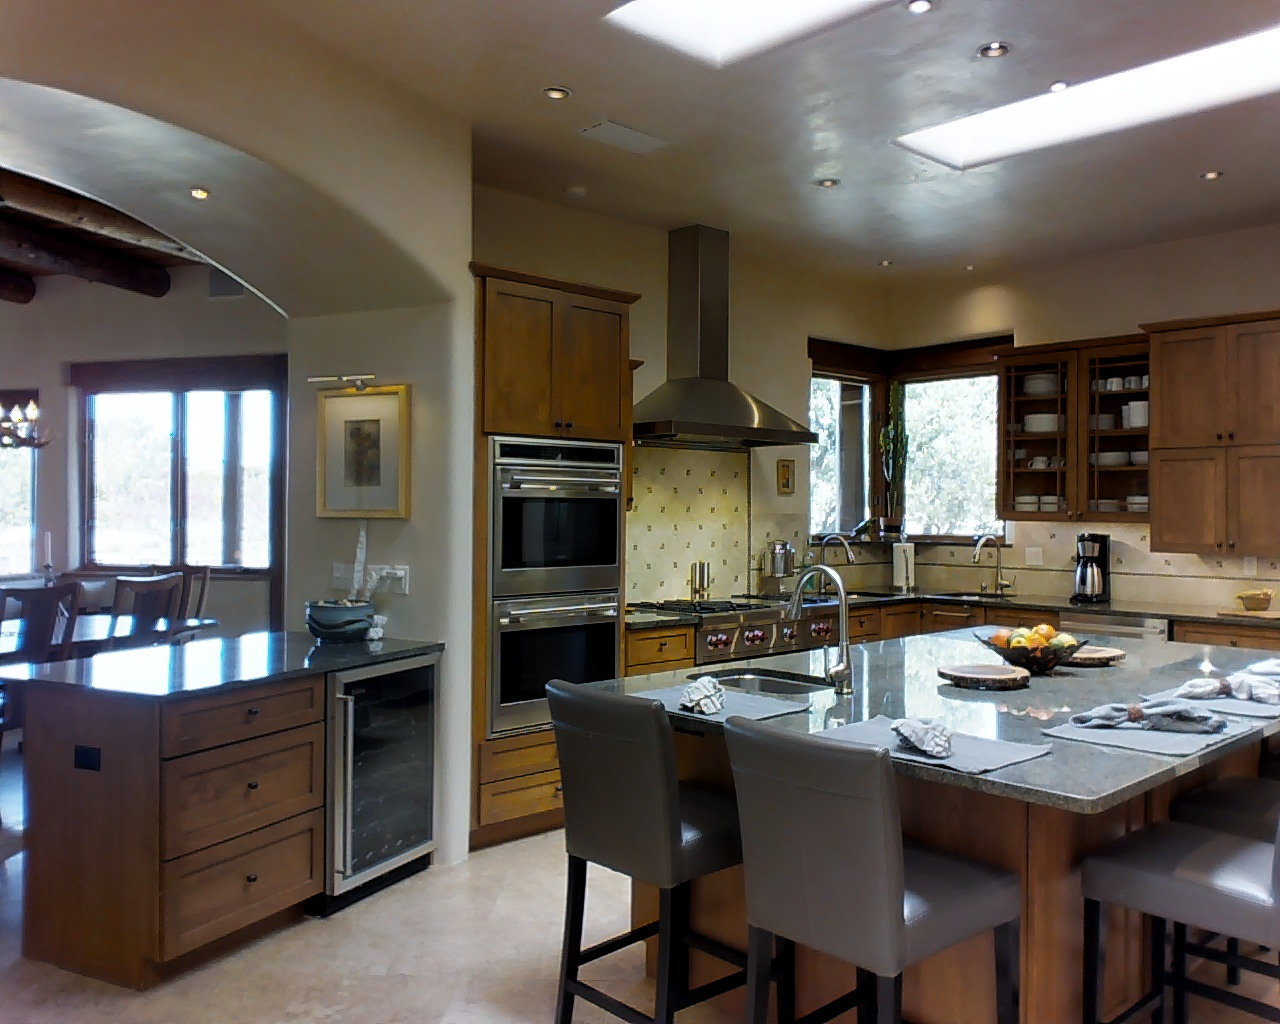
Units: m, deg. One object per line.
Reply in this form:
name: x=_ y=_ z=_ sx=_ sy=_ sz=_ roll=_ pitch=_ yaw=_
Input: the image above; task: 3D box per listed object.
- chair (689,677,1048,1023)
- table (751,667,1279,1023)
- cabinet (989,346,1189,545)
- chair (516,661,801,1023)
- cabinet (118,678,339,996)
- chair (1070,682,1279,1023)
chair: x=0.520 y=0.930 z=2.410 sx=0.650 sy=1.000 sz=0.510 roll=1 pitch=-1 yaw=-44
table: x=1.690 y=0.980 z=3.070 sx=2.440 sy=0.780 sz=1.250 roll=1 pitch=-1 yaw=-28
cabinet: x=2.699 y=-0.370 z=6.490 sx=0.400 sy=1.110 sz=1.040 roll=1 pitch=-1 yaw=-44
chair: x=0.050 y=0.940 z=2.850 sx=0.550 sy=0.990 sz=0.510 roll=1 pitch=-1 yaw=-44
cabinet: x=-1.310 y=1.000 z=3.480 sx=0.260 sy=0.820 sz=0.670 roll=0 pitch=-1 yaw=25
chair: x=1.400 y=0.950 z=2.500 sx=0.540 sy=0.990 sz=0.560 roll=1 pitch=-1 yaw=-43
